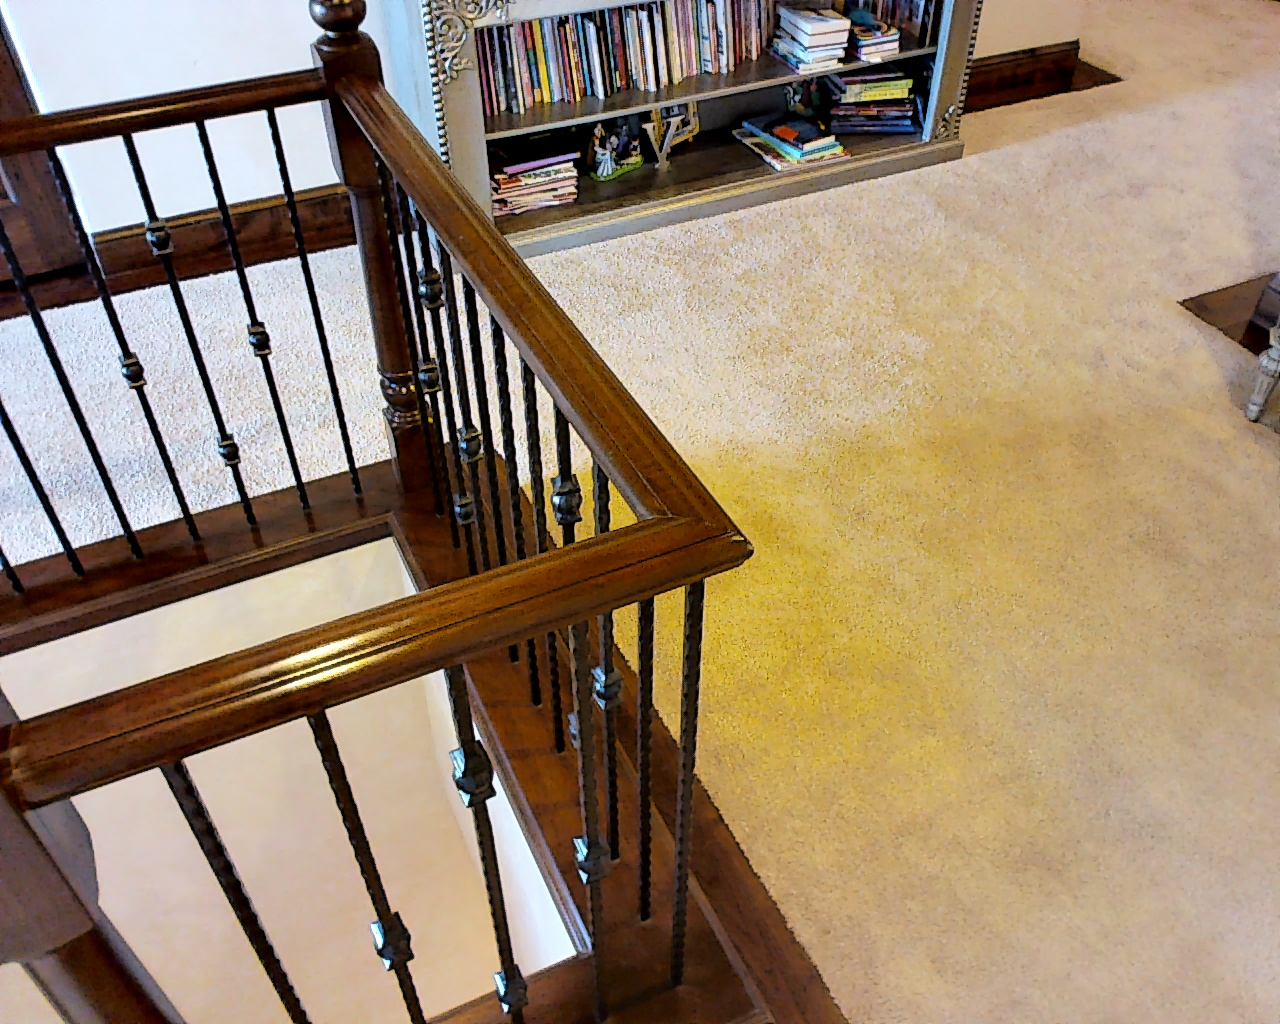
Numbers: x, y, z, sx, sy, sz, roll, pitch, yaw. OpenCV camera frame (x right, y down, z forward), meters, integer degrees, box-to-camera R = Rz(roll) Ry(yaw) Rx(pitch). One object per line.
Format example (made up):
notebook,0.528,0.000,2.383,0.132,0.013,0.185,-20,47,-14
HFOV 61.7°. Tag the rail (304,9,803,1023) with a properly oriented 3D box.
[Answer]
rail,-0.180,-0.040,1.440,0.110,0.870,1.170,-17,45,-18
